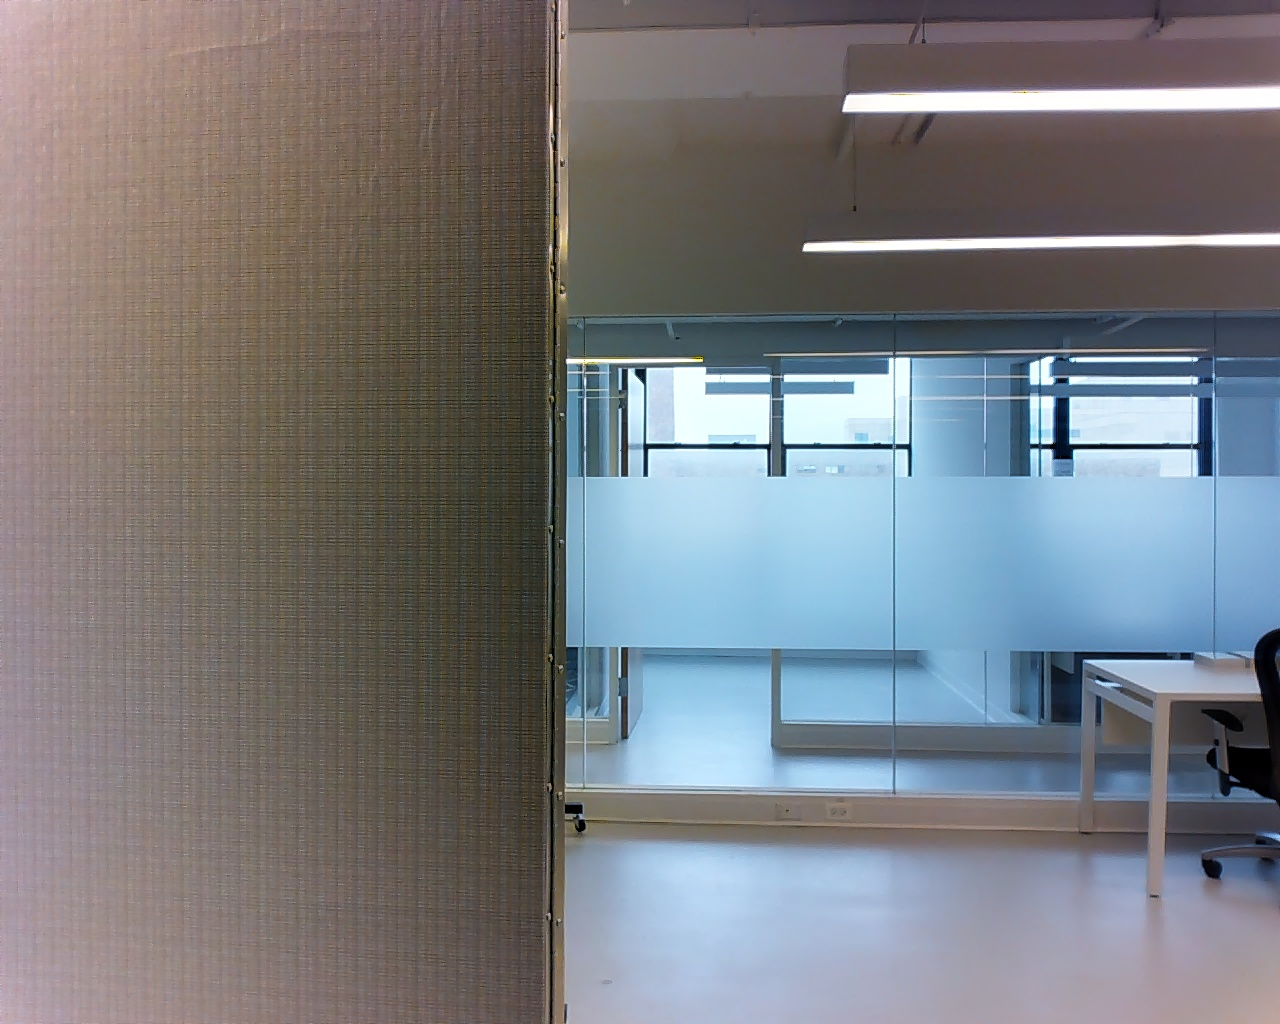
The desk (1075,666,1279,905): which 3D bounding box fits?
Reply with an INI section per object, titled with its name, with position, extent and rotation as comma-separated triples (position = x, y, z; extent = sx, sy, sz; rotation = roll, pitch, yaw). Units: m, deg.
[desk]
position = 2.469, 1.020, 4.130
extent = 1.320, 0.730, 0.670
rotation = -1, 2, 2
